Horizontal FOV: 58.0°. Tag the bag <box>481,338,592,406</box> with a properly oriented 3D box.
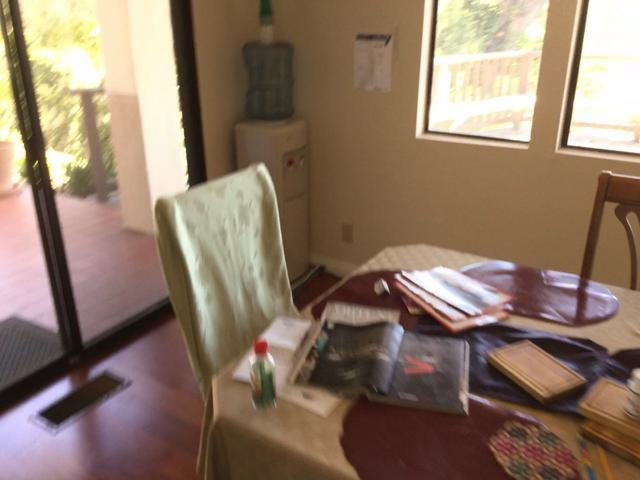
[{"bbox_3d":[0.480,0.290,1.300,0.140,0.020,0.200,-11,21,-16],"label":"bag"}]
